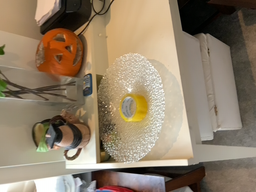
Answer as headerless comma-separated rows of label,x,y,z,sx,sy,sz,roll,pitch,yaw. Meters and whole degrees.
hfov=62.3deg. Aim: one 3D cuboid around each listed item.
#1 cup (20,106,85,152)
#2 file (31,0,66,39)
cup,-0.290,0.130,0.820,0.120,0.200,0.140,-24,67,43
file,-0.380,-0.530,1.000,0.290,0.040,0.430,-16,73,45
